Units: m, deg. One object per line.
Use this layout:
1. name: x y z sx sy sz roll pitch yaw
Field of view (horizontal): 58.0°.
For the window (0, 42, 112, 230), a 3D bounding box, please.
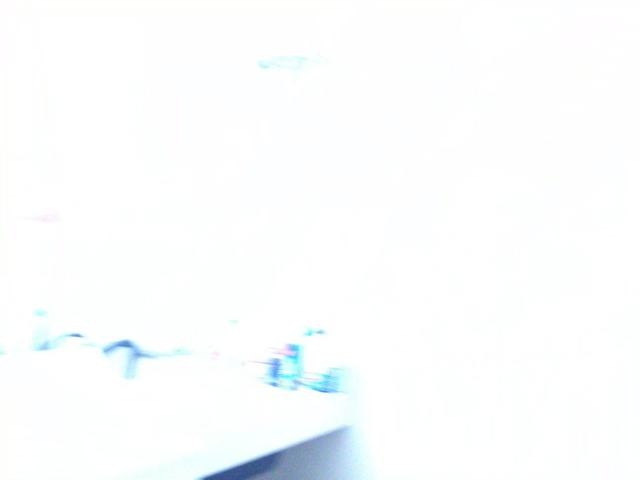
1. window: -1.270 -0.380 1.690 0.270 0.540 1.230 6 -2 38
